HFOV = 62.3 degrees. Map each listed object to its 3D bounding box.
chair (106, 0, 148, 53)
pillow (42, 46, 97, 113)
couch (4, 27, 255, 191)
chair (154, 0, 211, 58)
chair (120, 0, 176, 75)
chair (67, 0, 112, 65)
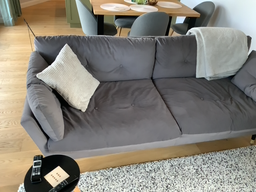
[{"bbox_3d":[-0.050,-1.200,3.410,0.510,0.870,0.520,-3,37,-13],"label":"chair"},{"bbox_3d":[-0.430,-0.110,1.630,0.170,0.430,0.360,-15,-3,12],"label":"pillow"},{"bbox_3d":[0.270,-0.030,1.890,2.110,0.800,1.020,-4,37,-15],"label":"couch"},{"bbox_3d":[0.840,-1.130,3.450,0.550,0.870,0.510,-4,37,-14],"label":"chair"},{"bbox_3d":[0.220,-0.810,2.900,0.510,0.870,0.550,-3,37,-13],"label":"chair"},{"bbox_3d":[-0.550,-0.950,2.980,0.540,0.870,0.510,-3,37,-13],"label":"chair"}]
